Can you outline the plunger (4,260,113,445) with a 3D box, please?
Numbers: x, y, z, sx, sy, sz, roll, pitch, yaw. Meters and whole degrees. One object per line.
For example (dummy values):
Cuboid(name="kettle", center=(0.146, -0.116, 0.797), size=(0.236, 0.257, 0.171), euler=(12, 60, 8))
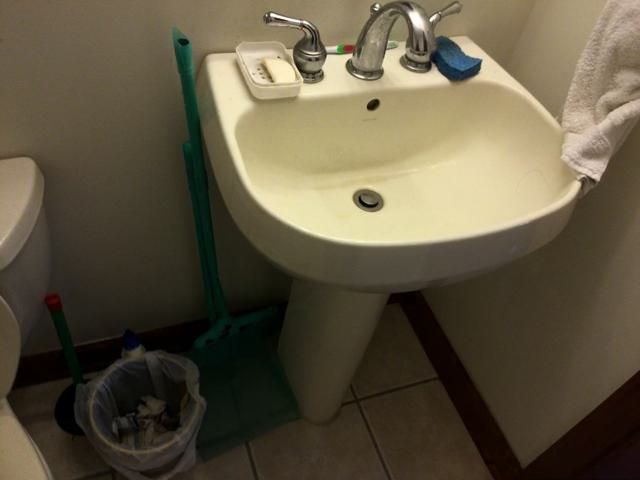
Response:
Cuboid(name="plunger", center=(-0.530, 0.250, 1.200), size=(0.120, 0.440, 0.160), euler=(-11, 53, -20))
